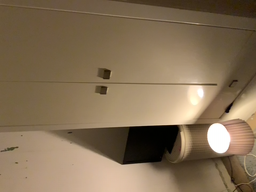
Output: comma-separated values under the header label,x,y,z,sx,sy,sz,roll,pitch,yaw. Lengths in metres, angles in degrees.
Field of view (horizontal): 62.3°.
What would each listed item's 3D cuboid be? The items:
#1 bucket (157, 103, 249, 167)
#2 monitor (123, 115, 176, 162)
label,x,y,z,sx,sy,sz,roll,pitch,yaw
bucket,0.640,0.340,1.930,0.380,0.580,0.410,106,158,-45
monitor,0.170,0.370,1.800,0.030,0.370,0.480,-113,28,-56
